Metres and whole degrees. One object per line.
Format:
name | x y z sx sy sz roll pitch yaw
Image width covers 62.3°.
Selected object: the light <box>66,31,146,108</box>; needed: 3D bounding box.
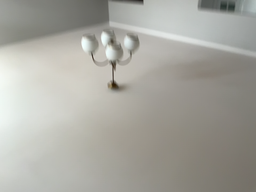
light | -0.250 -0.240 2.100 0.620 0.450 0.450 -33 -100 58
